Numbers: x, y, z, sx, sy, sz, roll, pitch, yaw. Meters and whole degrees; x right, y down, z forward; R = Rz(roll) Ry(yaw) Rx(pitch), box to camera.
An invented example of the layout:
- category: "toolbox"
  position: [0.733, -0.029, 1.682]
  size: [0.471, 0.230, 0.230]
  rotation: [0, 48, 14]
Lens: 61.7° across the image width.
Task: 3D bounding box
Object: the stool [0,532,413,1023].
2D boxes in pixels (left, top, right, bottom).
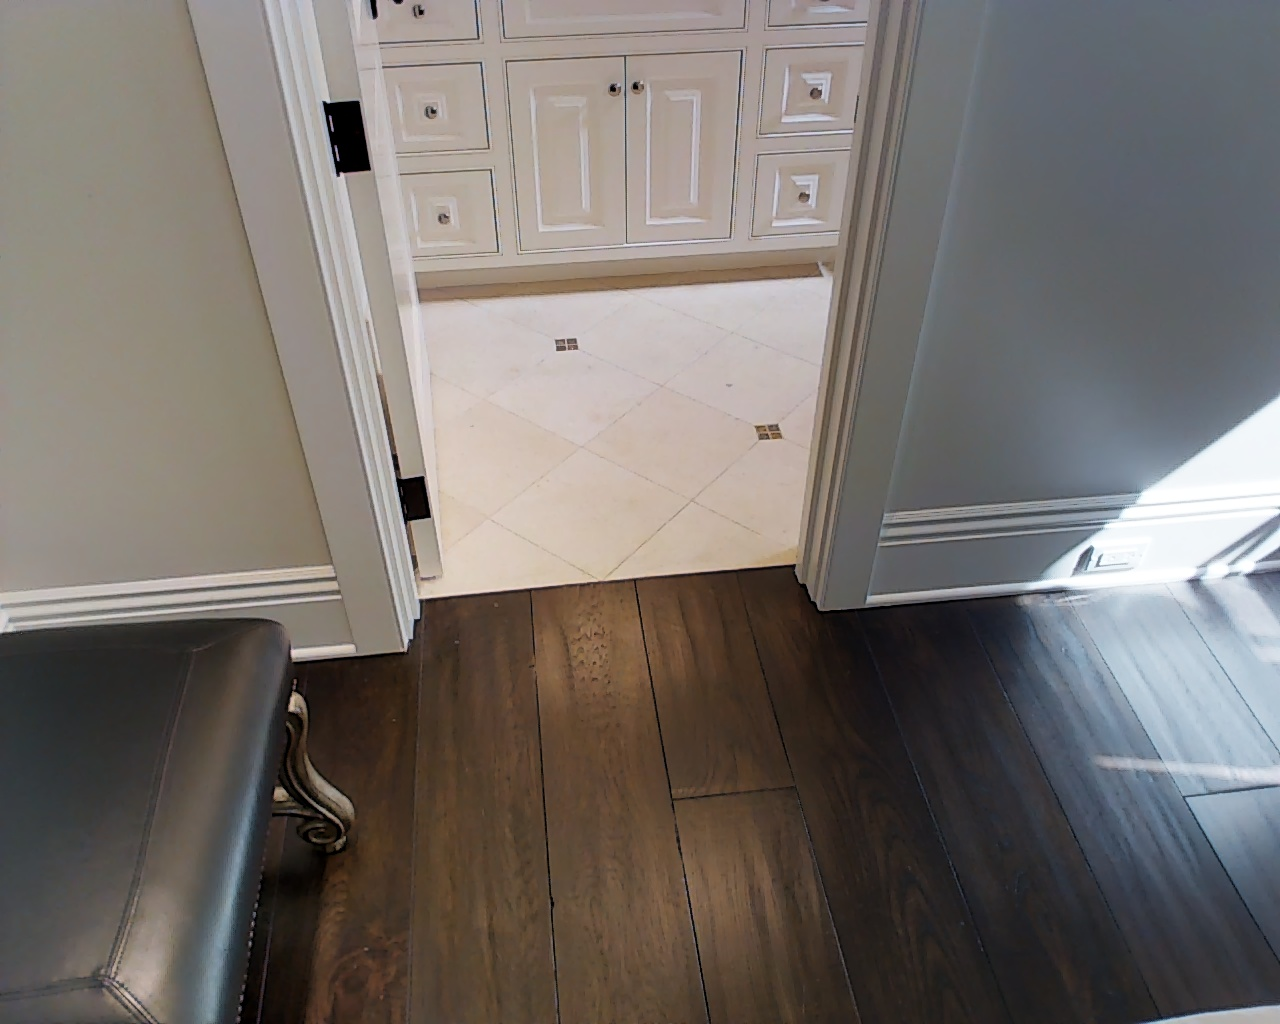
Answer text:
- category: "stool"
  position: [-0.690, 0.500, 1.320]
  size: [0.690, 0.590, 0.690]
  rotation: [-4, 41, -4]
